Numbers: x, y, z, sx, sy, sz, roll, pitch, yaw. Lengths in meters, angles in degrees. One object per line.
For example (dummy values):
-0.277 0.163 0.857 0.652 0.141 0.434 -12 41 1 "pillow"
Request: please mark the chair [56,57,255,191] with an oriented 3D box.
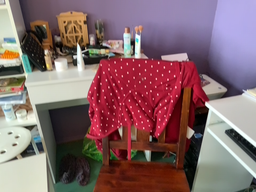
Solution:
0.070 0.370 0.890 0.410 0.930 0.520 1 29 3 "chair"
